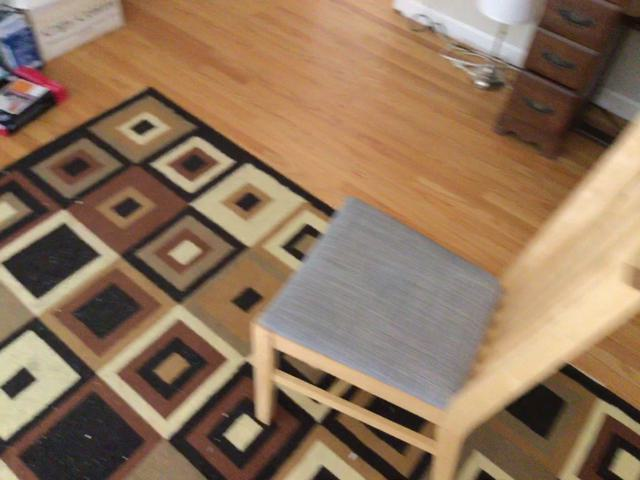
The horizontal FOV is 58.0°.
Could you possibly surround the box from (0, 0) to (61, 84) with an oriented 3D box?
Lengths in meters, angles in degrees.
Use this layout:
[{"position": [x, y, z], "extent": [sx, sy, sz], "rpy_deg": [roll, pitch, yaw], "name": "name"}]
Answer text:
[{"position": [-1.100, -0.730, 2.120], "extent": [0.130, 0.210, 0.190], "rpy_deg": [33, 54, 20], "name": "box"}]
